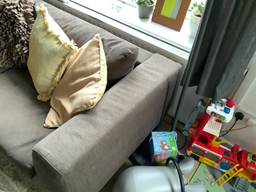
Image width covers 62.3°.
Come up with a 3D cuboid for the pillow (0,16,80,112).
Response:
[{"bbox_3d":[-0.550,-0.220,1.330,0.310,0.320,0.480,-20,51,-24],"label":"pillow"}]
